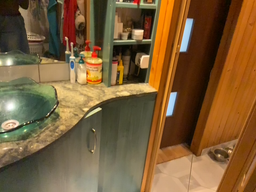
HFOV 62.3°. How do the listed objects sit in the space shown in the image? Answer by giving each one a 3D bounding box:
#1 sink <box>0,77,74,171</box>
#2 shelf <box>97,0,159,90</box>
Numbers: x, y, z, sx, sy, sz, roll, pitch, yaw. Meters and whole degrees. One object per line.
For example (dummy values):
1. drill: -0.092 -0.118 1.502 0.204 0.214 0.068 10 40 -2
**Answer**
1. sink: -0.500 0.090 0.900 0.430 0.140 0.460 -7 30 -25
2. shelf: 0.010 -0.500 1.050 0.270 0.960 0.120 -7 30 -25
